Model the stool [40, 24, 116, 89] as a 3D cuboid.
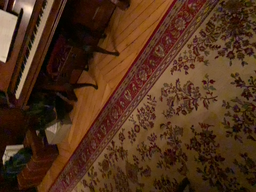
[{"bbox_3d":[-0.520,-0.370,2.180,0.500,0.540,0.290,-50,54,31],"label":"stool"}]
